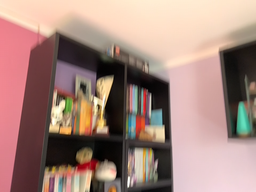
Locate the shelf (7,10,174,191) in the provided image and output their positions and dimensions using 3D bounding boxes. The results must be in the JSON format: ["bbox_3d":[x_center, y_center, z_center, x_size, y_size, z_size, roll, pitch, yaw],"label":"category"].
[{"bbox_3d":[-0.140,0.730,1.310,0.330,2.170,1.060,-13,-20,42],"label":"shelf"}]

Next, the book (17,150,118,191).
[{"bbox_3d":[-0.330,0.480,1.240,0.260,0.310,0.490,-12,-20,40],"label":"book"}]
